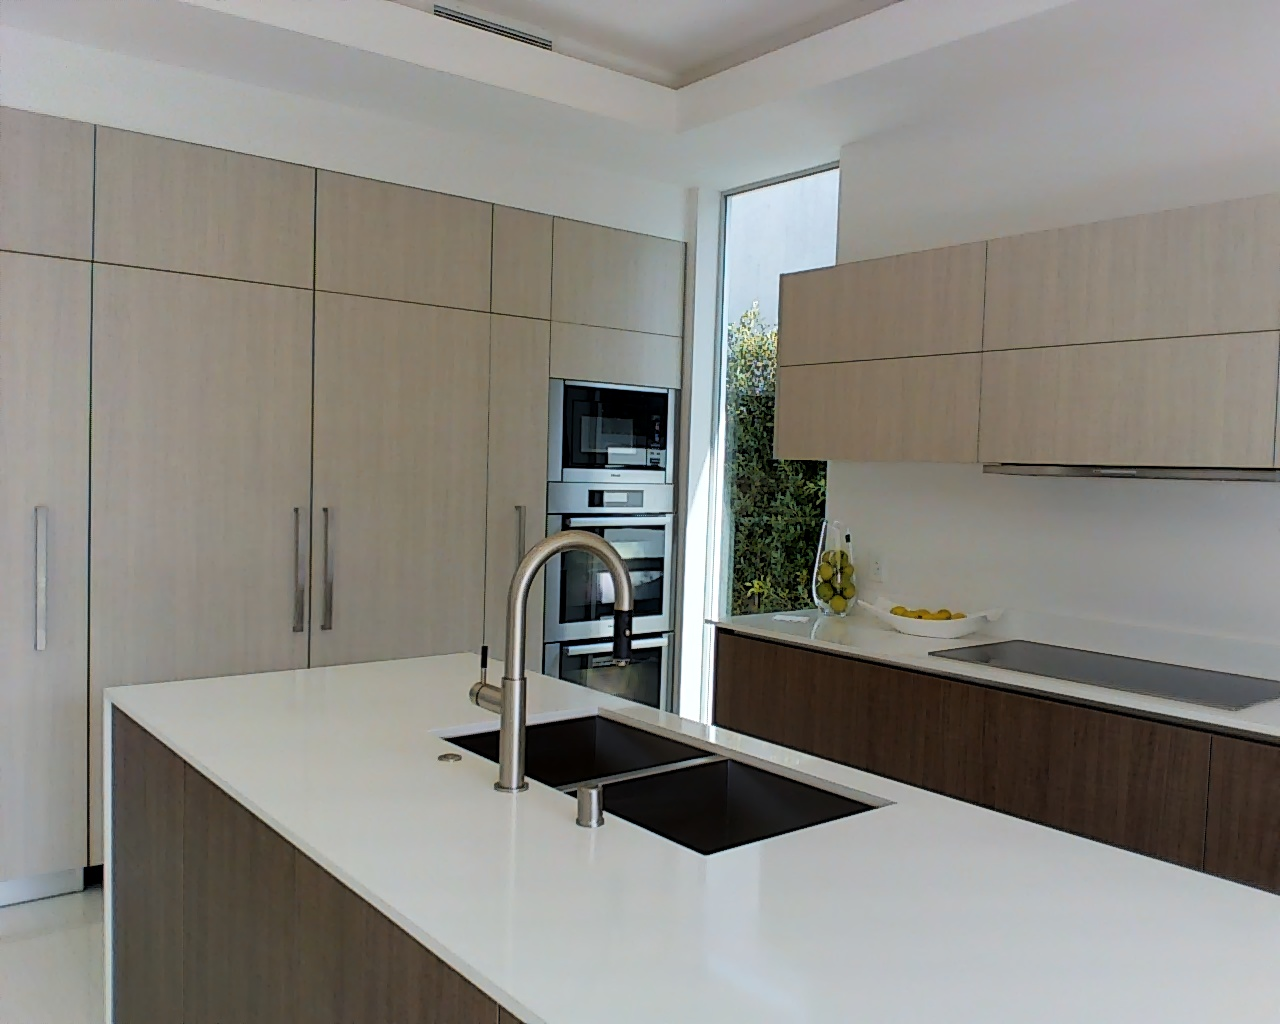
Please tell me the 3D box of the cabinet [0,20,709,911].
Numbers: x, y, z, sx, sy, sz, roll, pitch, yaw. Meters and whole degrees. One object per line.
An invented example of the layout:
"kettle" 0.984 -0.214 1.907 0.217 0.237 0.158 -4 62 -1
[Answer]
"cabinet" -1.229 -0.130 4.120 3.819 2.811 0.130 0 3 -39

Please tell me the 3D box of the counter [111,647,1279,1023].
"counter" -0.120 0.500 1.970 1.010 0.050 2.510 0 3 -39
